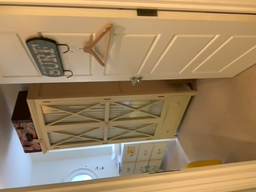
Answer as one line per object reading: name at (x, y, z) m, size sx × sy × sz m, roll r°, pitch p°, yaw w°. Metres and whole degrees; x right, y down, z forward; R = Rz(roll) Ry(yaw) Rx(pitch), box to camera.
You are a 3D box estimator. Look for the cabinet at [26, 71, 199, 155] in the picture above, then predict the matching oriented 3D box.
cabinet at (-0.190, 0.240, 2.910) m, size 0.440 × 1.970 × 1.040 m, roll -104°, pitch 16°, yaw -45°
